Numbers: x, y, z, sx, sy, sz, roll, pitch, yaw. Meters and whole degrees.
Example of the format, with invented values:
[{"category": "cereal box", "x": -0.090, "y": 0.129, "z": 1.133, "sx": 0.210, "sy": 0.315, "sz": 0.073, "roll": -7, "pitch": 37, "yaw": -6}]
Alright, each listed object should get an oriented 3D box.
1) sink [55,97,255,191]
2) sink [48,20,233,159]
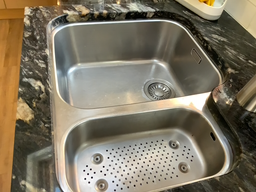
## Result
[{"category": "sink", "x": 0.040, "y": 0.150, "z": 0.470, "sx": 0.360, "sy": 0.140, "sz": 0.220, "roll": -7, "pitch": 51, "yaw": -14}, {"category": "sink", "x": 0.000, "y": -0.050, "z": 0.680, "sx": 0.450, "sy": 0.200, "sz": 0.360, "roll": -7, "pitch": 51, "yaw": -14}]
